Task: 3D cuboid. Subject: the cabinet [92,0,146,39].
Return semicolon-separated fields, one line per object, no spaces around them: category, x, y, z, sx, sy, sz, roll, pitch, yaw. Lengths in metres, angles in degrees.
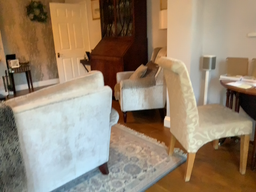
cabinet;-0.200;-1.710;3.920;0.330;1.240;1.120;-17;22;-40
